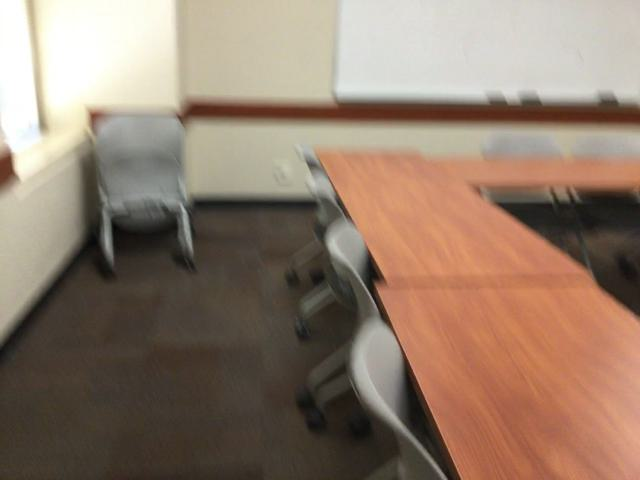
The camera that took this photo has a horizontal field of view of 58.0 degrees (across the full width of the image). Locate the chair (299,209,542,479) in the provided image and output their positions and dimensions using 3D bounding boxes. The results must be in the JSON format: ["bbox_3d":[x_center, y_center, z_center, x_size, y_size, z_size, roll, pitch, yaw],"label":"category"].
[{"bbox_3d":[0.210,0.400,1.660,0.480,0.850,0.550,-1,20,-7],"label":"chair"}]

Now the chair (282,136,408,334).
[{"bbox_3d":[0.080,-0.050,2.780,0.480,0.790,0.590,-1,20,-7],"label":"chair"}]

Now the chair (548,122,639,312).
[{"bbox_3d":[1.630,-0.140,3.060,0.460,0.870,0.550,-1,20,-7],"label":"chair"}]

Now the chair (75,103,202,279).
[{"bbox_3d":[-0.990,-0.310,3.240,0.560,0.810,0.670,-4,21,-15],"label":"chair"}]
